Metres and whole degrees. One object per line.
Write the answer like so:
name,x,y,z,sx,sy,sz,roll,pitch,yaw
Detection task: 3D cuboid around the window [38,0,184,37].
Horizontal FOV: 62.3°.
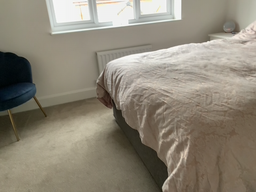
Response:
window,-0.180,-1.520,2.600,1.860,1.330,0.280,-12,24,-17
